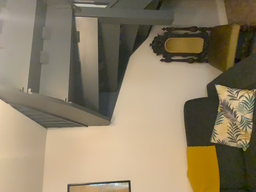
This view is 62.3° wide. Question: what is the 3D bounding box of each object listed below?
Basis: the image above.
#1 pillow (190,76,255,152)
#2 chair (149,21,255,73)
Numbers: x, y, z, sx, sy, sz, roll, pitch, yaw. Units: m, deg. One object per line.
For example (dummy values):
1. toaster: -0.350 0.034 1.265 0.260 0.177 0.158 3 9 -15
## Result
1. pillow: 1.000 0.170 2.070 0.590 0.390 0.260 -40 21 3
2. chair: 0.850 -0.560 2.400 1.090 0.490 0.630 -1 17 -7
